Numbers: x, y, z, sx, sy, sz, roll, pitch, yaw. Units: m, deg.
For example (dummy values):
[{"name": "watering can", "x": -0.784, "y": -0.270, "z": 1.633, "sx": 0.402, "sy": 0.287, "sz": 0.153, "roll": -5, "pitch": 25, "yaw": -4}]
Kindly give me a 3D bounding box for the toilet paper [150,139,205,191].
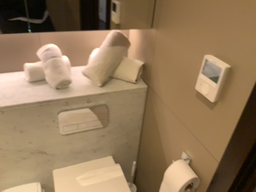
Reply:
[{"name": "toilet paper", "x": 0.200, "y": 0.350, "z": 0.930, "sx": 0.110, "sy": 0.240, "sz": 0.190, "roll": -7, "pitch": 35, "yaw": -19}]
